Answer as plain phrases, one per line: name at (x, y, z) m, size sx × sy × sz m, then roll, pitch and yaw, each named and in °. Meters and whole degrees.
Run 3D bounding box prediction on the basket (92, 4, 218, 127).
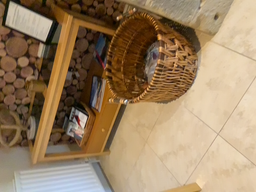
basket at (0.140, -0.200, 1.470) m, size 0.530 × 0.440 × 0.620 m, roll 45°, pitch 120°, yaw 46°
